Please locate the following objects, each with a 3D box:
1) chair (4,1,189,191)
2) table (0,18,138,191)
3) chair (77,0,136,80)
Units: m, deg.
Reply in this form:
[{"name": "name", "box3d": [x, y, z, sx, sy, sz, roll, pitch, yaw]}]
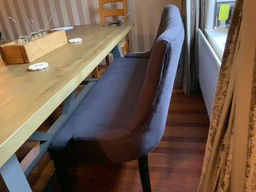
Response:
[{"name": "chair", "box3d": [0.040, -0.120, 1.570, 0.660, 0.920, 1.480, -1, 27, 12]}, {"name": "table", "box3d": [-0.610, 0.020, 1.620, 1.010, 0.760, 2.380, -1, 27, 12]}, {"name": "chair", "box3d": [-0.230, -0.790, 2.850, 0.530, 1.000, 0.560, -1, 27, 11]}]
